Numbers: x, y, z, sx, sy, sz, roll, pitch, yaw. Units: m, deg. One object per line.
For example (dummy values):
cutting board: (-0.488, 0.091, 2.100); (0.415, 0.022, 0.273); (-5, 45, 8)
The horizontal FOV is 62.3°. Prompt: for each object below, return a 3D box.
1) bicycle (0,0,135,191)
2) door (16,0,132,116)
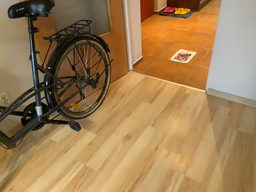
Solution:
bicycle: (-0.640, -0.030, 1.260); (0.520, 1.020, 1.650); (20, 43, 28)
door: (-0.360, -0.840, 1.490); (0.890, 2.000, 0.070); (-33, 45, -32)
